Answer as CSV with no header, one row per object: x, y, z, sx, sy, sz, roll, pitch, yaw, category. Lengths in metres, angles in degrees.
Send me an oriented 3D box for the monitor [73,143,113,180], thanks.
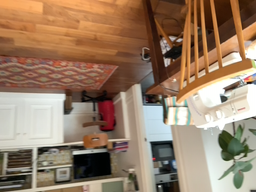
-0.600,1.120,3.680,0.680,0.530,0.030,1,162,-24,monitor

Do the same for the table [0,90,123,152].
-1.200,0.400,3.510,2.120,0.860,0.480,1,162,-23,table
